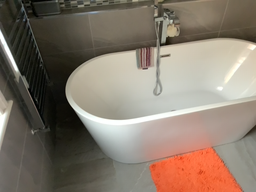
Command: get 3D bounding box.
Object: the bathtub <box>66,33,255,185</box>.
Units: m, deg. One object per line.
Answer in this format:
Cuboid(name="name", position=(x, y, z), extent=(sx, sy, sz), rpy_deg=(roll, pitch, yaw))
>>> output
Cuboid(name="bathtub", position=(0.440, 0.030, 1.760), extent=(1.740, 0.590, 0.840), rpy_deg=(-8, 44, -8))
